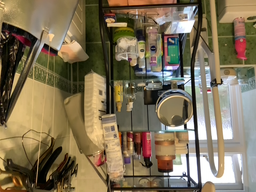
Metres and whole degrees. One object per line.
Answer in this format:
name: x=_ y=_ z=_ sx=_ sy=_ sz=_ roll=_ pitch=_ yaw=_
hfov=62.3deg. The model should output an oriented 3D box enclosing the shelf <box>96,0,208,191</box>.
shelf: x=0.080 y=-0.410 z=1.100 sx=0.410 sy=1.670 sz=0.460 roll=-1 pitch=173 yaw=2
